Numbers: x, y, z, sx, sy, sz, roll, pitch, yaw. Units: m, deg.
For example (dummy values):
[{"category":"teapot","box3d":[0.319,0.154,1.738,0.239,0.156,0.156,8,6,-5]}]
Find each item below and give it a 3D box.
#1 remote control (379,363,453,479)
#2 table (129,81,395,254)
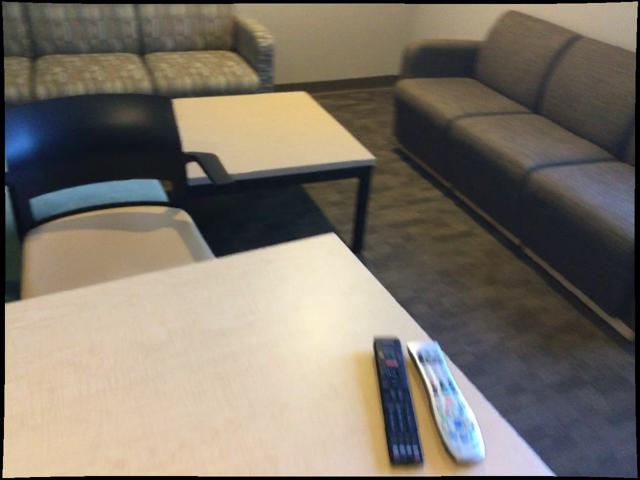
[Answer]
[{"category":"remote control","box3d":[0.140,0.280,0.860,0.050,0.030,0.230,-1,35,-9]},{"category":"table","box3d":[-0.270,-0.360,2.430,0.839,0.280,0.780,-13,39,-25]}]
